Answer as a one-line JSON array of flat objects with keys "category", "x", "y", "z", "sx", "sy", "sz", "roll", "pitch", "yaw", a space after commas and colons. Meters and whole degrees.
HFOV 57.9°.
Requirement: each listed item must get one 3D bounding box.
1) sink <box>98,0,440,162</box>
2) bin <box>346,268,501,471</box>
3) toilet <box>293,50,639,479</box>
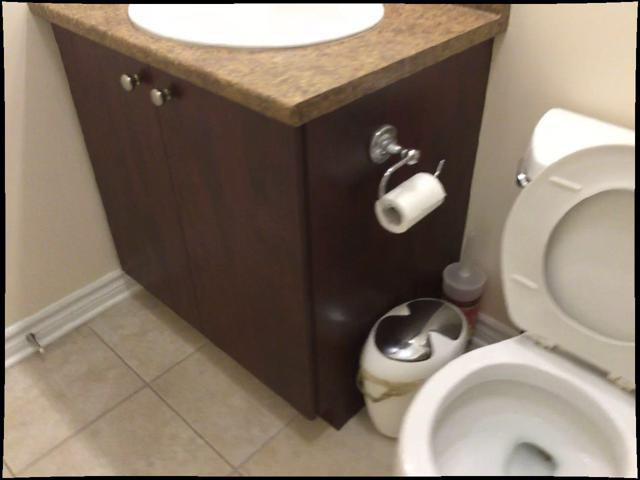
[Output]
[{"category": "sink", "x": -0.090, "y": -0.420, "z": 1.150, "sx": 0.450, "sy": 0.220, "sz": 0.480, "roll": 29, "pitch": 47, "yaw": 32}, {"category": "bin", "x": 0.220, "y": 0.280, "z": 1.280, "sx": 0.200, "sy": 0.290, "sz": 0.260, "roll": 29, "pitch": 47, "yaw": 32}, {"category": "toilet", "x": 0.400, "y": 0.220, "z": 0.970, "sx": 0.520, "sy": 0.770, "sz": 0.690, "roll": 29, "pitch": 47, "yaw": 32}]
